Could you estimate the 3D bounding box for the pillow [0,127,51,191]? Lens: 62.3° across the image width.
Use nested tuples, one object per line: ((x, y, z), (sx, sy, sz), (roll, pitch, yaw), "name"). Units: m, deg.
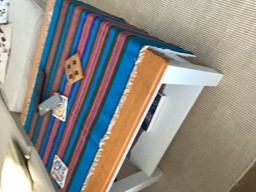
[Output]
((-0.730, 0.560, 1.370), (0.530, 0.130, 0.470), (42, 118, 33), "pillow")
